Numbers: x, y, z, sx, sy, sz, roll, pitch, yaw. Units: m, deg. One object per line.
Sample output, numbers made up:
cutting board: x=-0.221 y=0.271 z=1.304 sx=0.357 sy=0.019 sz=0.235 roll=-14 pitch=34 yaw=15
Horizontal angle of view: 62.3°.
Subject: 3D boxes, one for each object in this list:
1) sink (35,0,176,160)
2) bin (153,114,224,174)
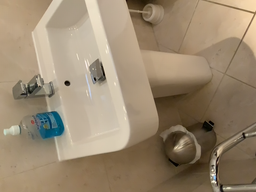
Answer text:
sink: x=-0.120 y=-0.080 z=0.720 sx=0.410 sy=0.140 sz=0.530 roll=-23 pitch=79 yaw=45
bin: x=0.340 y=0.260 z=1.180 sx=0.190 sy=0.300 sz=0.230 roll=-27 pitch=77 yaw=44
